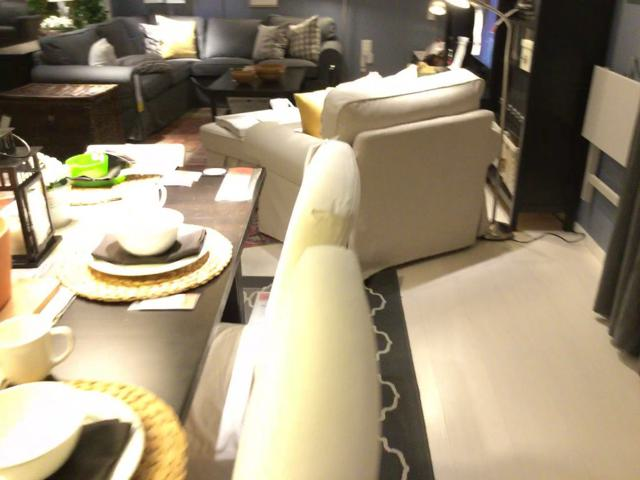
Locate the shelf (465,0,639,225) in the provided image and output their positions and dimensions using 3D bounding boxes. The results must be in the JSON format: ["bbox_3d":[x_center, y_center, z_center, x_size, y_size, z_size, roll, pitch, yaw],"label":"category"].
[{"bbox_3d":[1.220,-1.020,3.210,0.470,1.570,1.060,1,25,3],"label":"shelf"}]

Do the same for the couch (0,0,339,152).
[{"bbox_3d":[-1.200,-1.760,5.500,2.700,1.090,2.570,1,25,3],"label":"couch"}]

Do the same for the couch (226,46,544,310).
[{"bbox_3d":[0.280,-0.420,2.950,1.140,0.920,0.990,-15,29,-28],"label":"couch"}]

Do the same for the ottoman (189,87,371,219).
[{"bbox_3d":[-0.250,-0.620,3.800,0.890,0.550,0.740,-22,33,-38],"label":"ottoman"}]
